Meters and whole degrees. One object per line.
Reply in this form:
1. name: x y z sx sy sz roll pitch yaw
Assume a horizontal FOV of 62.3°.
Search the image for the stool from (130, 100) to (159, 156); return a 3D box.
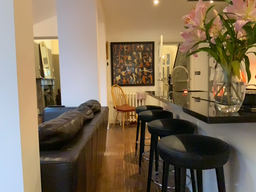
1. stool: 0.230 0.440 3.050 0.350 0.730 0.350 -2 4 -3
